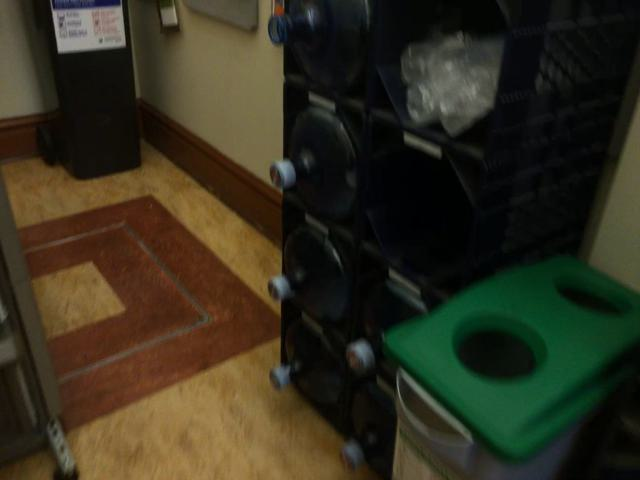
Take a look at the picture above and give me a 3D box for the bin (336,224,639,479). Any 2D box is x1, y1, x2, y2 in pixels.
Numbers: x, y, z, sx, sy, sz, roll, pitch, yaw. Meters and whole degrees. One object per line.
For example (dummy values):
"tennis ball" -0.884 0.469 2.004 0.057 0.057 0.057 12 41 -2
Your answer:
"bin" 0.370 0.400 1.140 0.600 0.670 0.320 -18 36 -33

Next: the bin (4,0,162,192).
"bin" -1.090 -0.830 2.660 0.470 1.030 0.490 -18 35 -33
